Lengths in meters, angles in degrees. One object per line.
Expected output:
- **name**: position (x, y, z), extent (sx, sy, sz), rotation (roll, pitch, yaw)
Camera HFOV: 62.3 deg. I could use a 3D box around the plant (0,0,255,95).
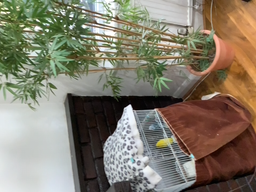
- **plant**: position (0.010, -0.340, 1.260), extent (0.530, 1.650, 0.650), rotation (-1, 89, 64)
